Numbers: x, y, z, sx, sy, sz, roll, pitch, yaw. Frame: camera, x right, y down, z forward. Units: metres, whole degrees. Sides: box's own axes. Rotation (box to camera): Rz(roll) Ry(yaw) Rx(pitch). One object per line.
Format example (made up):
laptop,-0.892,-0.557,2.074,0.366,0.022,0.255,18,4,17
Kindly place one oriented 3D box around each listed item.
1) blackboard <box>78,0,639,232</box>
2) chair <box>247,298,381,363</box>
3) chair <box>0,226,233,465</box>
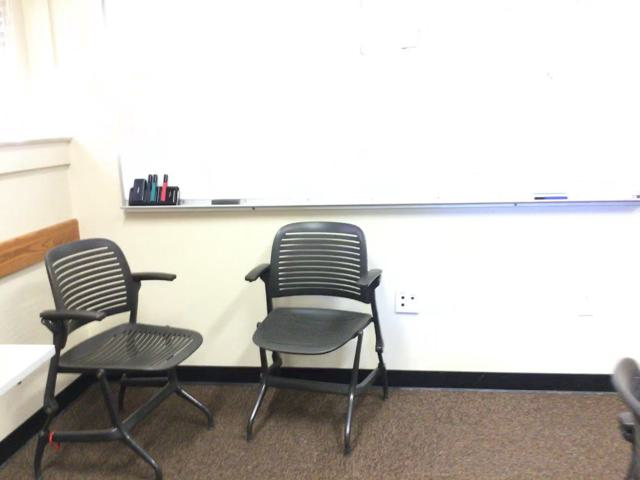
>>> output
blackboard,0.160,-0.740,2.520,2.350,1.240,0.170,-4,10,7
chair,0.000,0.380,2.500,0.520,0.090,0.500,-4,10,7
chair,-0.770,0.370,2.320,0.540,0.750,0.590,-2,10,20
